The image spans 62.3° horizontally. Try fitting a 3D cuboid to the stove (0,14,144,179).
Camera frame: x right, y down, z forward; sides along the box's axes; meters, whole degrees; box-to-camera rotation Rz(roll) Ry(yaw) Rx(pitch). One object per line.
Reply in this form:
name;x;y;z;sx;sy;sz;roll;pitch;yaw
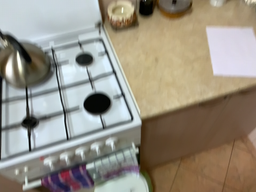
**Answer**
stove;-0.280;-0.050;0.920;0.510;0.180;0.610;-16;56;-9
